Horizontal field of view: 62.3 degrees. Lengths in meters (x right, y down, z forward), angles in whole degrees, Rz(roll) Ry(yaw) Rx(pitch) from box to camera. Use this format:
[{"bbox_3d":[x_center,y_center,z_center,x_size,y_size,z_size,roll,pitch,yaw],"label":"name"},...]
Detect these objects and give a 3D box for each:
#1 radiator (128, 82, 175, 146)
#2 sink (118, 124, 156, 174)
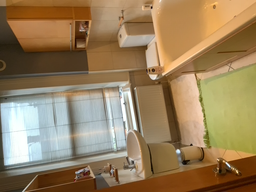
[{"bbox_3d":[0.330,0.240,3.010,0.160,0.520,0.830,149,114,-72],"label":"radiator"},{"bbox_3d":[0.080,0.600,2.500,0.630,0.200,0.470,146,117,-71],"label":"sink"}]
